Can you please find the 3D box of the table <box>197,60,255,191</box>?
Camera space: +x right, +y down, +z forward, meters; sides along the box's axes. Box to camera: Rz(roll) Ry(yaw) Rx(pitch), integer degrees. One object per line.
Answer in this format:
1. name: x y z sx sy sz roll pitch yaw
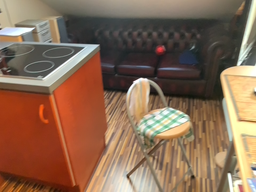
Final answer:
1. table: 0.650 0.410 1.150 0.420 0.790 1.190 7 33 14
